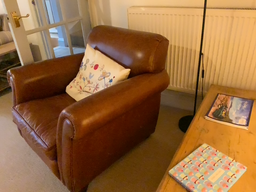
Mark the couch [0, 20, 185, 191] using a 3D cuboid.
[{"bbox_3d":[-0.290,0.010,1.570,0.960,0.830,0.940,-29,39,-35],"label":"couch"}]

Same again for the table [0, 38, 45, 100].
[{"bbox_3d":[-1.560,-0.300,2.550,0.380,0.510,0.930,14,35,27],"label":"table"}]
